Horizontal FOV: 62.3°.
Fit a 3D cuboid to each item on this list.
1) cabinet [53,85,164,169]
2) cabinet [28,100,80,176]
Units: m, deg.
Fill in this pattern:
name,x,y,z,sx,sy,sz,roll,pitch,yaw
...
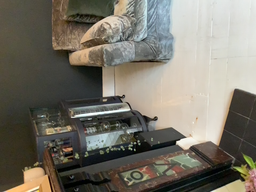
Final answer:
name,x,y,z,sx,sy,sz,roll,pitch,yaw
cabinet,-0.290,0.230,2.380,1.070,0.850,0.380,35,124,54
cabinet,-0.770,0.340,2.090,0.930,0.300,0.270,35,124,54
